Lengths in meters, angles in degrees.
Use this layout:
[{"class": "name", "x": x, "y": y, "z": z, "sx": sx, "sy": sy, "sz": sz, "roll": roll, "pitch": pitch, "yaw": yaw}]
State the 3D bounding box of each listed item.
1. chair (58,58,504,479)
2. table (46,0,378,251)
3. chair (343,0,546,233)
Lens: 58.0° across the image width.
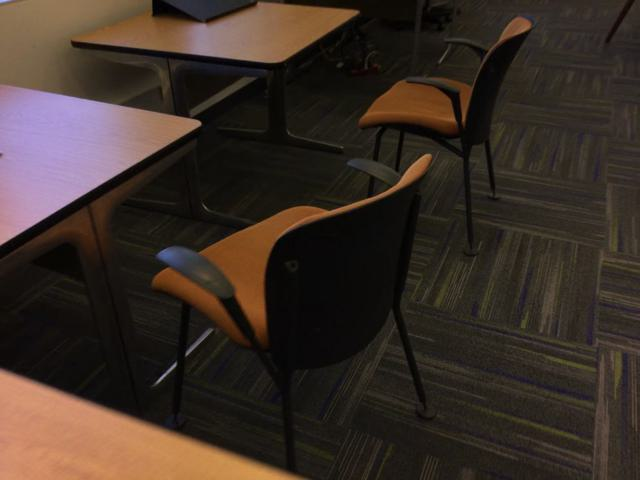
[{"class": "chair", "x": -0.070, "y": 0.130, "z": 1.370, "sx": 0.630, "sy": 0.850, "sz": 0.600, "roll": 28, "pitch": 44, "yaw": 35}, {"class": "table", "x": -0.380, "y": -0.640, "z": 2.630, "sx": 0.970, "sy": 0.740, "sz": 1.040, "roll": 13, "pitch": 38, "yaw": 20}, {"class": "chair", "x": 0.470, "y": -0.520, "z": 2.270, "sx": 0.600, "sy": 0.700, "sz": 0.530, "roll": 13, "pitch": 38, "yaw": 20}]
